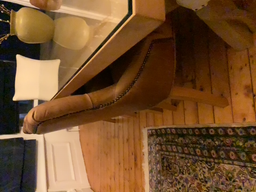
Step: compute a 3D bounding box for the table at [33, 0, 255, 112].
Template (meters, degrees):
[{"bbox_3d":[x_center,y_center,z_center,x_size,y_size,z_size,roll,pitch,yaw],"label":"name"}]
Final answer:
[{"bbox_3d":[-0.180,-0.480,1.600,2.280,0.780,1.040,-15,73,61],"label":"table"}]
